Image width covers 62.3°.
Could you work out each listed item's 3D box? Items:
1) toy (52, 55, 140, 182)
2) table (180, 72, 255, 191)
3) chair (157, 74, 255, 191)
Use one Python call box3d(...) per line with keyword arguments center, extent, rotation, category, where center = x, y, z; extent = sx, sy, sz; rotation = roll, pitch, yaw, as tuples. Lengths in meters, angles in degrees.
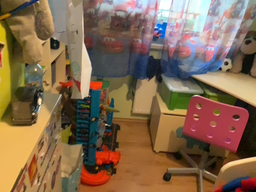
box3d(center=(-0.230, 0.110, 1.800), extent=(0.520, 0.640, 0.920), rotation=(6, 25, -4), category="toy")
box3d(center=(0.920, 0.280, 1.800), extent=(0.460, 0.750, 0.700), rotation=(-4, 28, -23), category="table")
box3d(center=(0.620, 0.320, 1.600), extent=(0.500, 0.770, 0.520), rotation=(21, 28, 26), category="chair")
